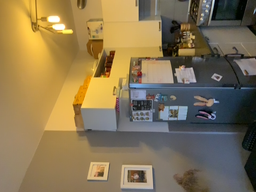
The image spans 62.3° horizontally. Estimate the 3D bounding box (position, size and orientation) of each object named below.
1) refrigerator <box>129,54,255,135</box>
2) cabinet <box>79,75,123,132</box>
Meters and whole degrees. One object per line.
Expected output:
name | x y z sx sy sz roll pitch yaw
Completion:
refrigerator | 0.920 -0.030 2.310 0.560 1.770 0.670 -85 -6 -54
cabinet | -0.280 0.070 2.480 0.590 0.390 0.380 -85 -6 -54
